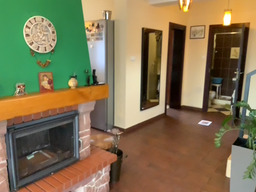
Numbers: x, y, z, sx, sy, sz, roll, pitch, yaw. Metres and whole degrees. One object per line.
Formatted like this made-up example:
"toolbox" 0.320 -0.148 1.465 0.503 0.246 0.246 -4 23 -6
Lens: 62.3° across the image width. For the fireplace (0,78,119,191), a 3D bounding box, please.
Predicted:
"fireplace" -0.800 0.500 1.910 0.740 1.150 1.300 11 15 38
